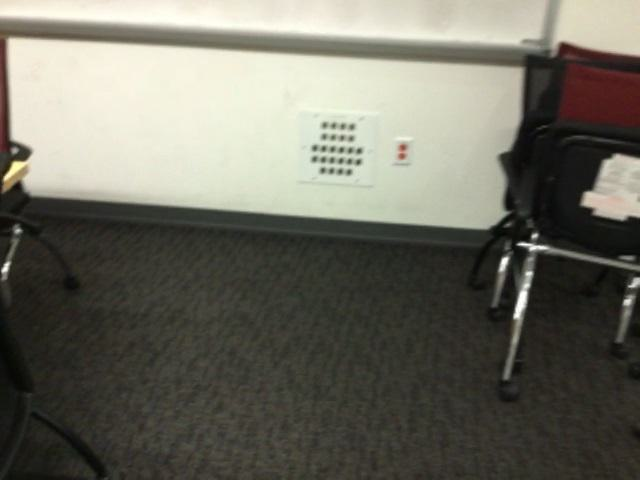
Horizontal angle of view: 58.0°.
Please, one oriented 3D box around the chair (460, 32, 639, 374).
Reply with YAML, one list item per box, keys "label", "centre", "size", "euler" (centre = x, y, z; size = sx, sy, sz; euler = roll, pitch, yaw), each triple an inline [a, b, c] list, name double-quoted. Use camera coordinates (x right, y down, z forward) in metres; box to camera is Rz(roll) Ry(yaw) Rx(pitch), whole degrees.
- label: "chair"
  centre: [0.920, -0.170, 1.950]
  size: [0.730, 0.840, 0.820]
  euler: [9, 28, 9]
